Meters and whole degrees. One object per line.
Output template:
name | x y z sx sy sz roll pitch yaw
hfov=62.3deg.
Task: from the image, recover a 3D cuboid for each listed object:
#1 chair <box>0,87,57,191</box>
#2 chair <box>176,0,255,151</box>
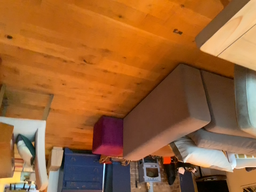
chair | -1.130 0.480 2.310 0.530 0.980 0.460 9 147 -21
chair | 0.700 -0.290 1.160 0.450 1.020 0.570 11 147 -23
